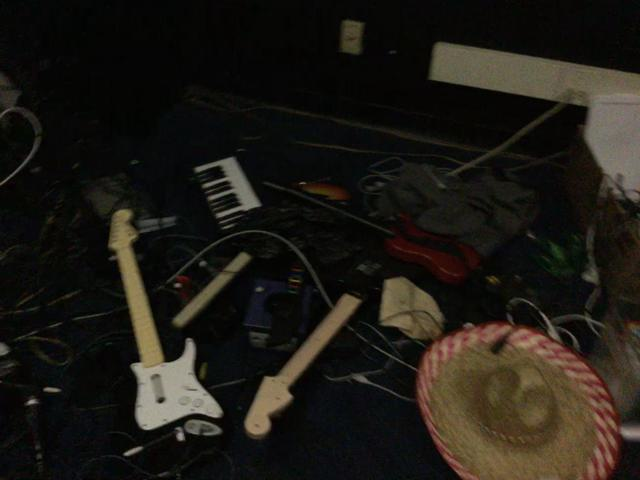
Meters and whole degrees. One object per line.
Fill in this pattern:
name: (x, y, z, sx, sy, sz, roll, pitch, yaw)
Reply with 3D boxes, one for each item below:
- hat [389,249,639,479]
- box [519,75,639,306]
hat: (0.480, 0.320, 1.340, 0.500, 0.200, 0.530, 14, 43, 14)
box: (0.980, -0.140, 1.690, 0.640, 0.350, 0.610, 14, 43, 14)
